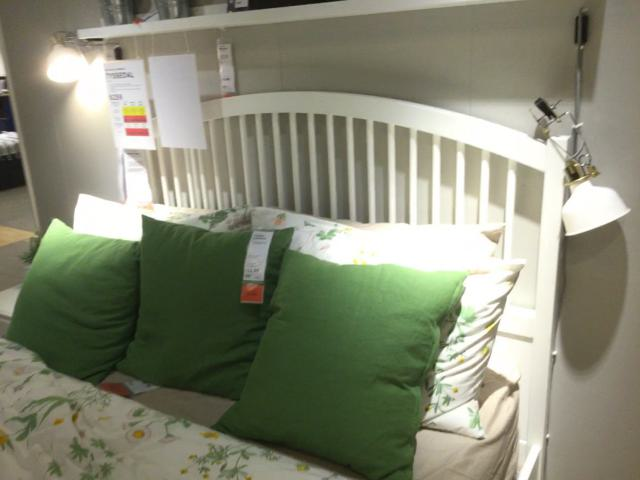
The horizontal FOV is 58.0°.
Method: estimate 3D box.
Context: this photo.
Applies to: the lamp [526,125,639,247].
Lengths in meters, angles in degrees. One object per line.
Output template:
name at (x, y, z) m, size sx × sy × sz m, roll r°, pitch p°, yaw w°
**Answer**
lamp at (0.600, -0.130, 1.310) m, size 0.210 × 0.240 × 0.130 m, roll 9°, pitch 21°, yaw 33°
